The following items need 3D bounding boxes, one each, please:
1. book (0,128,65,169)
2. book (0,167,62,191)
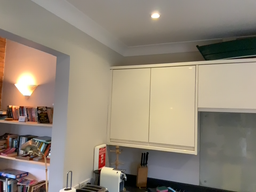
[{"bbox_3d":[-1.400,0.660,2.800,1.200,0.360,0.260,0,-4,25],"label":"book"},{"bbox_3d":[-1.420,1.180,2.650,1.210,0.360,0.300,0,-4,23],"label":"book"}]
